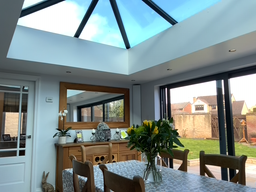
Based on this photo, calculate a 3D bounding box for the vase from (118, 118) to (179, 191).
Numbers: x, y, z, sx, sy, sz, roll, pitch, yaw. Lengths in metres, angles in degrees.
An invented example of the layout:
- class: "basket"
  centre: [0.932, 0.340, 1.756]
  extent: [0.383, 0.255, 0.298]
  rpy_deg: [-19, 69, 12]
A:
- class: "vase"
  centre: [0.160, 0.460, 1.740]
  extent: [0.360, 0.550, 0.330]
  rpy_deg: [5, -8, -35]
